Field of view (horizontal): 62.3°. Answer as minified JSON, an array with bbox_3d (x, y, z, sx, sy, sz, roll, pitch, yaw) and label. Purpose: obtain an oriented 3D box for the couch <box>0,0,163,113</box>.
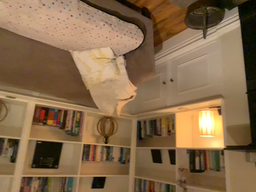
[{"bbox_3d":[-0.750,-0.490,1.920,1.850,0.900,1.090,13,162,-32],"label":"couch"}]
